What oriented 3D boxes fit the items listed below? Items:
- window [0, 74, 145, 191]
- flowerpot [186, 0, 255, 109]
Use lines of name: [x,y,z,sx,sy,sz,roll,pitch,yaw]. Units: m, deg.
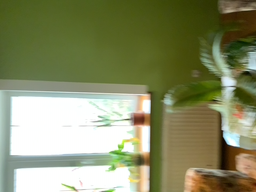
window: [-0.610,0.600,2.340,0.180,1.550,1.590,180,92,-78]
flowerpot: [0.600,-0.140,1.080,0.520,0.390,0.410,164,108,-77]
